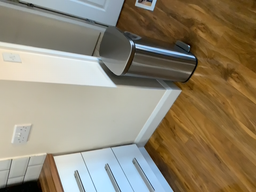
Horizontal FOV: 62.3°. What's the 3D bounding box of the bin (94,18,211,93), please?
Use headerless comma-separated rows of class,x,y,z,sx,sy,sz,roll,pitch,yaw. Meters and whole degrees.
bin,0.190,-0.260,1.540,0.380,0.730,0.270,55,128,37
